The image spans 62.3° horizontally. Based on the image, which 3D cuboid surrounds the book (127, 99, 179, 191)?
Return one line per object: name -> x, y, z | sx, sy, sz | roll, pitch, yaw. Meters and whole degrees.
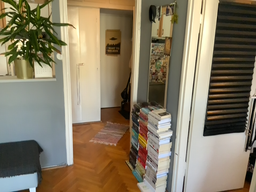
book -> 0.230, 0.540, 2.380 | 0.210, 0.830, 0.730 | -3, 16, -21
